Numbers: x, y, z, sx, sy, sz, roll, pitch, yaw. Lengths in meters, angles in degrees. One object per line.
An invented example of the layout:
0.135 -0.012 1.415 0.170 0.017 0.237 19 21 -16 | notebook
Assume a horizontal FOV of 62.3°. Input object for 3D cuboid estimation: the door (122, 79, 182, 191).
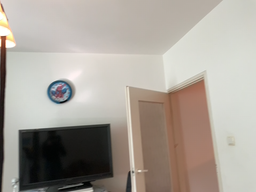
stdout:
0.340 0.910 2.460 0.050 2.140 0.920 -13 -13 42 | door
